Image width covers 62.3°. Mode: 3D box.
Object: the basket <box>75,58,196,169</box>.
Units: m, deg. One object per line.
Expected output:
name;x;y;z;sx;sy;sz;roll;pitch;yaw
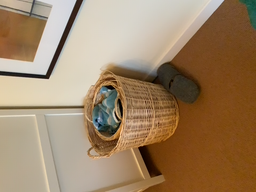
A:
basket;0.020;0.110;1.300;0.450;0.450;0.420;-51;52;37
